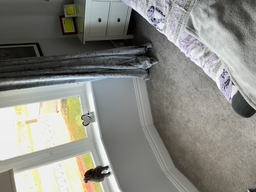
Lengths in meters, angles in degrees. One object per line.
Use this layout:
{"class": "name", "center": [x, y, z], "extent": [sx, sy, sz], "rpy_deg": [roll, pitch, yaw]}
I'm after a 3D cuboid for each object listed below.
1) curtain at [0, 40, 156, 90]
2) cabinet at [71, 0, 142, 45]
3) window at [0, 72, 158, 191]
{"class": "curtain", "center": [-0.850, -0.290, 1.910], "extent": [0.420, 2.390, 0.190], "rpy_deg": [52, 141, 41]}
{"class": "cabinet", "center": [-0.270, -0.950, 2.440], "extent": [0.450, 0.620, 0.520], "rpy_deg": [55, 143, 38]}
{"class": "window", "center": [-0.740, 0.810, 1.700], "extent": [2.080, 1.640, 0.670], "rpy_deg": [58, 145, 34]}
